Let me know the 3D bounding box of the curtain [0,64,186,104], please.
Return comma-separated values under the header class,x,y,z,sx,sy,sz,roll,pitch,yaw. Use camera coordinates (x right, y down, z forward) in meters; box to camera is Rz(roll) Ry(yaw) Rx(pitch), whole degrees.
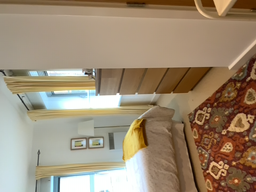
class,x,y,z,sx,sy,sz,roll,pitch,yaw
curtain,-0.440,-0.180,3.060,0.470,2.470,0.360,113,153,-64
